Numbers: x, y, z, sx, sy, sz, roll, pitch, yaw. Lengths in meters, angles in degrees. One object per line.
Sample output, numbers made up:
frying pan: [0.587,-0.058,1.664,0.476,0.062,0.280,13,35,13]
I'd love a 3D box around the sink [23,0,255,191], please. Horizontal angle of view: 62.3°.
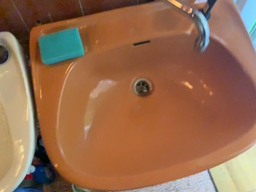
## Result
sink: [0.050,-0.020,0.560,0.540,0.230,0.410,-13,61,-6]
